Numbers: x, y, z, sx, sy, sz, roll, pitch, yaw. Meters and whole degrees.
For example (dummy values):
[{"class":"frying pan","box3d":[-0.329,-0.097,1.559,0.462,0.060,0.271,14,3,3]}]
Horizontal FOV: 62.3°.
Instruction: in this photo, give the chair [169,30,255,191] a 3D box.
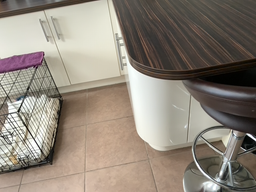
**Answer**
[{"class":"chair","box3d":[0.460,0.260,0.920,0.430,0.910,0.480,-10,39,-2]}]
